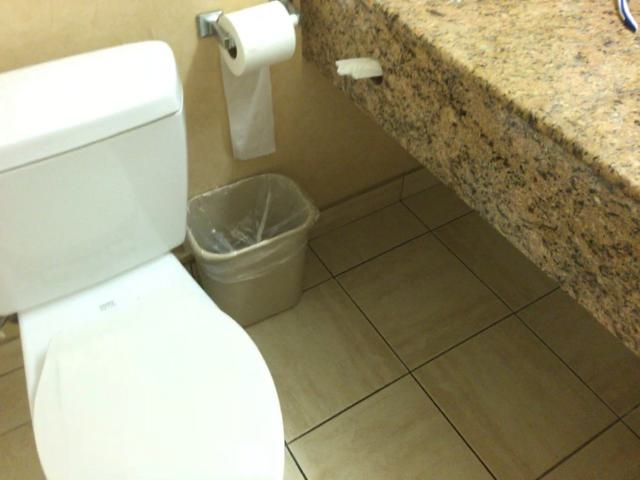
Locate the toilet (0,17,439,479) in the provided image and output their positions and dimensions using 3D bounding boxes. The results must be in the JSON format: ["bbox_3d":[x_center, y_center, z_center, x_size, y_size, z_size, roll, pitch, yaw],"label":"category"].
[{"bbox_3d":[-0.310,0.200,0.960,0.510,0.740,0.750,-25,53,-23],"label":"toilet"}]

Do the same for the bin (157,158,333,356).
[{"bbox_3d":[-0.170,0.040,1.390,0.320,0.320,0.220,-25,53,-23],"label":"bin"}]

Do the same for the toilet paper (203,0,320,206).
[{"bbox_3d":[-0.110,-0.280,1.170,0.170,0.400,0.120,-25,53,-23],"label":"toilet paper"}]
